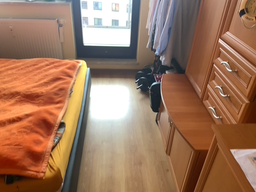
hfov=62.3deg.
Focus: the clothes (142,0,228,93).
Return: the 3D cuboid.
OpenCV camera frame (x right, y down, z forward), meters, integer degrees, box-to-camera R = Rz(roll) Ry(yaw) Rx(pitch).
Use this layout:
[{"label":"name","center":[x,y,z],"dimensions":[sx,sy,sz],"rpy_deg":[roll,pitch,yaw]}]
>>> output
[{"label":"clothes","center":[0.470,-0.790,2.260],"dimensions":[0.440,0.950,1.290],"rpy_deg":[2,34,-3]}]
